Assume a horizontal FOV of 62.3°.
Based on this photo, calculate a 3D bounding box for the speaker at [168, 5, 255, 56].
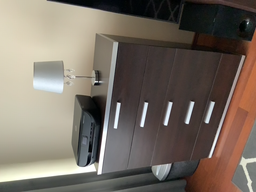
[{"bbox_3d":[0.640,-0.540,1.700,0.590,0.310,0.270,-131,47,-57],"label":"speaker"}]

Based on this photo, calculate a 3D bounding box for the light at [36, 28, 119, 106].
[{"bbox_3d":[-0.390,-0.210,1.510,0.450,0.480,0.390,-129,46,-56],"label":"light"}]
